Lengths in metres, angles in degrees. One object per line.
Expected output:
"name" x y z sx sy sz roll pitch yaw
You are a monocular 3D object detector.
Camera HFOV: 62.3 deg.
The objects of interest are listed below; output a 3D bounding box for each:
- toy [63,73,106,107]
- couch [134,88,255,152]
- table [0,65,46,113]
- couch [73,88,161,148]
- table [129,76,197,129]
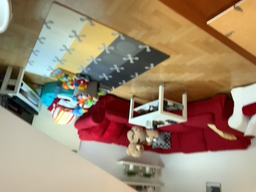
"toy" -0.740 -0.090 3.640 0.590 0.370 0.320 17 157 -30
"couch" 1.230 0.680 4.530 0.870 0.840 2.510 17 157 -30
"table" -1.830 -0.080 3.700 0.340 0.490 0.990 5 161 1
"couch" -0.210 0.560 4.560 1.560 0.830 0.940 17 157 -29
"table" 0.560 0.170 3.670 0.530 0.570 1.110 17 157 -30
